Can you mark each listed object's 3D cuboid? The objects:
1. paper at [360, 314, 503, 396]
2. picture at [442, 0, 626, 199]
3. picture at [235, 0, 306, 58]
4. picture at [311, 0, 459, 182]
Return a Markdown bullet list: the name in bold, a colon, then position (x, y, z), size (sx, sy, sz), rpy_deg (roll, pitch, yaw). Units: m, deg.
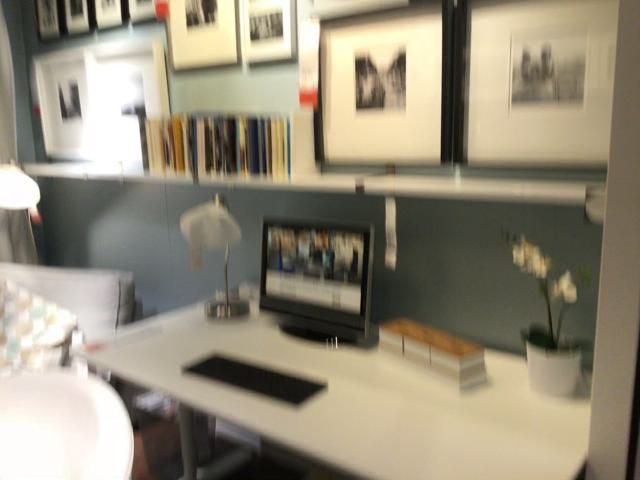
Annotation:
- **paper**: position (0.320, 0.330, 1.730), size (0.170, 0.110, 0.400), rpy_deg (-8, 11, -39)
- **picture**: position (0.580, -0.430, 1.620), size (0.460, 0.610, 0.090), rpy_deg (6, 11, 36)
- **picture**: position (-0.190, -0.970, 2.130), size (0.290, 0.540, 0.060), rpy_deg (6, 11, 36)
- **picture**: position (0.200, -0.490, 1.910), size (0.510, 0.580, 0.070), rpy_deg (6, 11, 36)
